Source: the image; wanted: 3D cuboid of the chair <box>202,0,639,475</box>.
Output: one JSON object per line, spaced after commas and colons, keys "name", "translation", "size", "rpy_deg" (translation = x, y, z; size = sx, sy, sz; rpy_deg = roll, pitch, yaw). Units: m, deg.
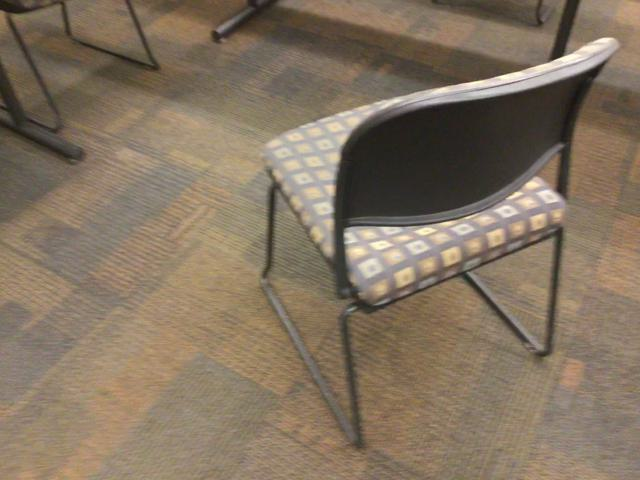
{"name": "chair", "translation": [0.170, -0.090, 1.100], "size": [0.550, 0.750, 0.610], "rpy_deg": [-17, 48, -14]}
